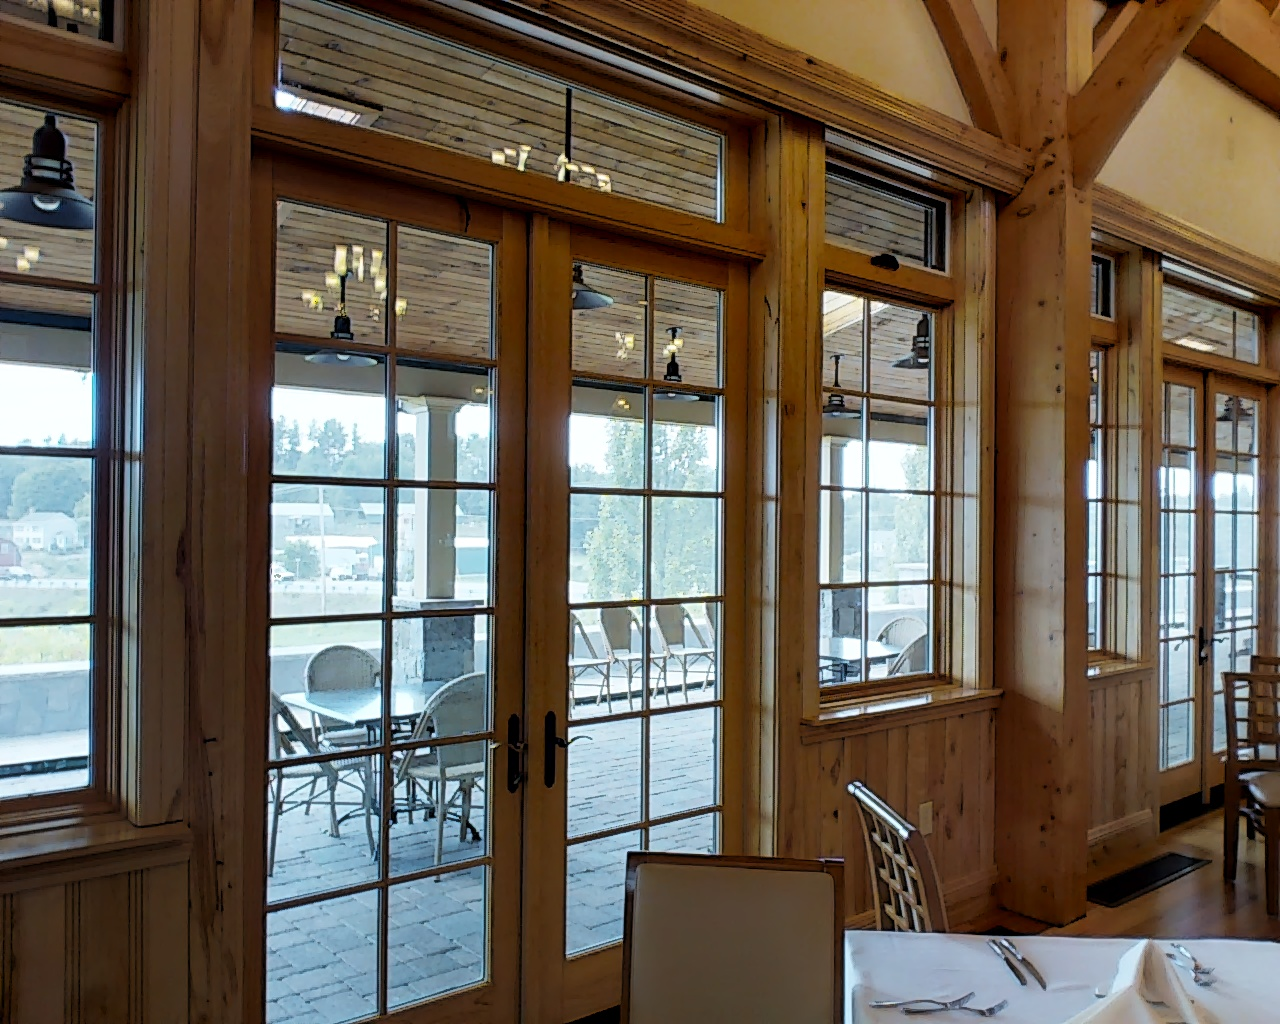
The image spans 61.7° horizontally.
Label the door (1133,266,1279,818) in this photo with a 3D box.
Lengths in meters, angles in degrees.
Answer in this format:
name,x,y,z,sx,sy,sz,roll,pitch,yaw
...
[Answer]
name,x,y,z,sx,sy,sz,roll,pitch,yaw
door,3.250,0.160,6.070,1.680,2.820,0.130,1,-1,-41
